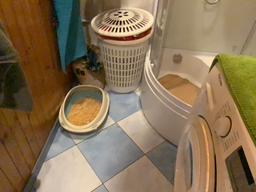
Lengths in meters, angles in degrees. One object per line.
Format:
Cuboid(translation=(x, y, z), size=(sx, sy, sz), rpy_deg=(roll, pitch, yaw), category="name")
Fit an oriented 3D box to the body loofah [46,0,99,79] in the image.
Cuboid(translation=(-0.350, -0.600, 1.420), size=(0.180, 0.870, 0.430), rpy_deg=(8, 43, 4), category="body loofah")
